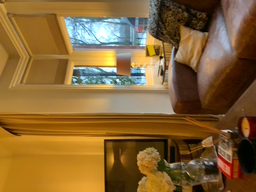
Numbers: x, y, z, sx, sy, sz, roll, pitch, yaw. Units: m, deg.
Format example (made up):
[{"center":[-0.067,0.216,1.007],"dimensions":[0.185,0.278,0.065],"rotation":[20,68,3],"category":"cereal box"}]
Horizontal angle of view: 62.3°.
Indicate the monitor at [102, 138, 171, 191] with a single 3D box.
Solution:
[{"center":[0.090,1.080,2.400],"dimensions":[0.080,0.760,1.190],"rotation":[-170,81,-89],"category":"monitor"}]
